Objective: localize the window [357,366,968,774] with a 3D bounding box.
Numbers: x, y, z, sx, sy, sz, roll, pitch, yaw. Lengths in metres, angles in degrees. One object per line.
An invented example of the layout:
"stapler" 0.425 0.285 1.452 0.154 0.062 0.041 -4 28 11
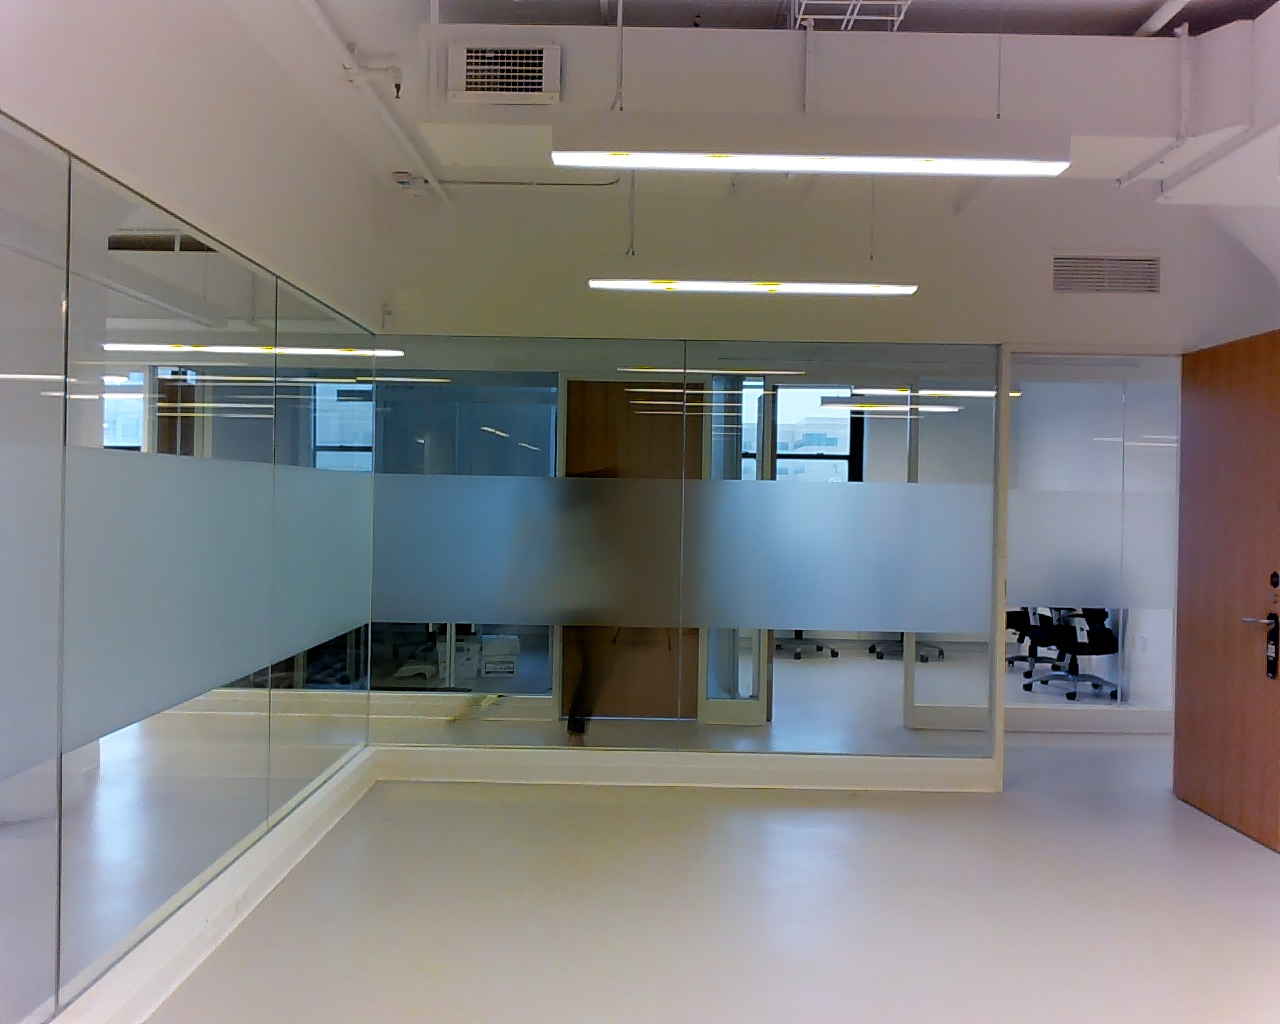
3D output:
"window" 0.110 0.290 5.450 3.039 1.990 0.090 1 0 0

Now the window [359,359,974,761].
"window" 0.130 0.240 5.460 3.049 1.960 0.140 1 0 0
